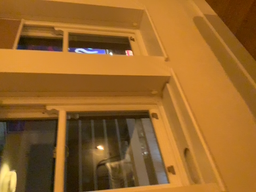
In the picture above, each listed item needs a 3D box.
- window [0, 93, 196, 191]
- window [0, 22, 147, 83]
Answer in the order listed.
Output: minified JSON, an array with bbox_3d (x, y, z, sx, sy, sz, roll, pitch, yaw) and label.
[{"bbox_3d":[-0.220,0.300,1.230,0.080,1.080,0.770,105,160,-47],"label":"window"},{"bbox_3d":[-0.470,-0.370,1.770,0.090,1.160,0.630,104,160,-45],"label":"window"}]
